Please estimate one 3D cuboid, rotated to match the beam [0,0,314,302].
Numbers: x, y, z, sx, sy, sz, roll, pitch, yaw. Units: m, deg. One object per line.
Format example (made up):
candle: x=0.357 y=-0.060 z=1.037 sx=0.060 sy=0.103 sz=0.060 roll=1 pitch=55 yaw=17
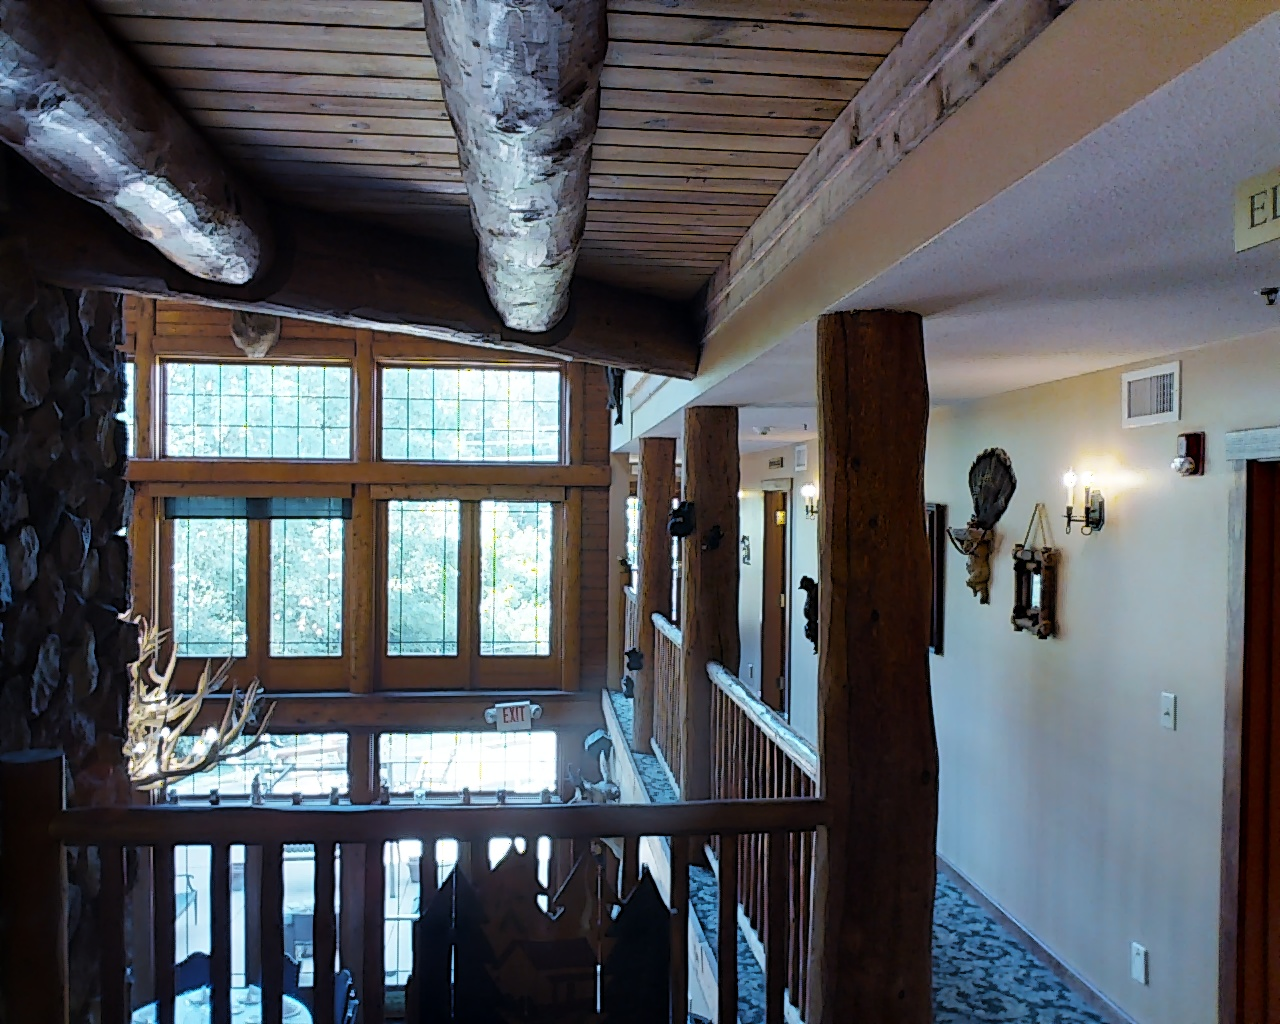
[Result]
beam: x=-1.040 y=-0.790 z=1.020 sx=0.540 sy=0.340 sz=4.480 roll=1 pitch=0 yaw=-6
